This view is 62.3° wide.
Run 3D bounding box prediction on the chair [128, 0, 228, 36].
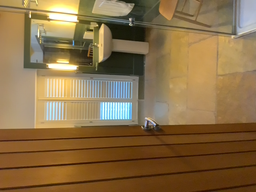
[{"bbox_3d":[0.470,-0.930,2.030,0.410,0.800,0.490,-111,28,-51],"label":"chair"}]
